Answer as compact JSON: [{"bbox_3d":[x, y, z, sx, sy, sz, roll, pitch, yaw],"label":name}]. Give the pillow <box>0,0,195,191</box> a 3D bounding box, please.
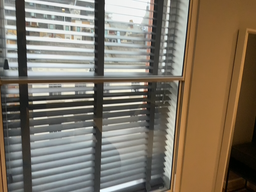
[{"bbox_3d":[-0.110,-0.040,1.270,1.130,1.640,0.090,-3,13,-28],"label":"pillow"}]
